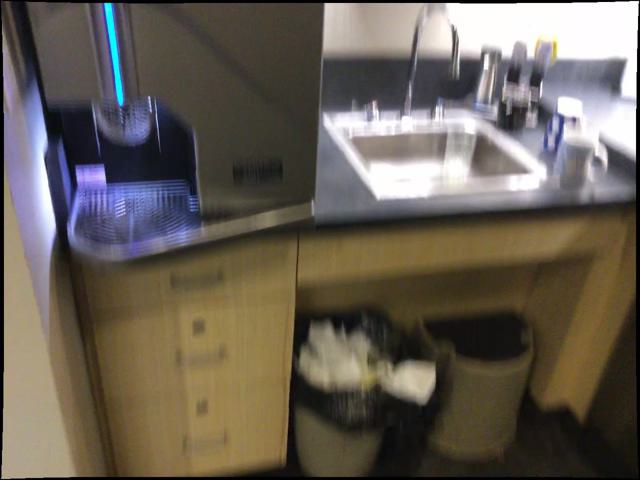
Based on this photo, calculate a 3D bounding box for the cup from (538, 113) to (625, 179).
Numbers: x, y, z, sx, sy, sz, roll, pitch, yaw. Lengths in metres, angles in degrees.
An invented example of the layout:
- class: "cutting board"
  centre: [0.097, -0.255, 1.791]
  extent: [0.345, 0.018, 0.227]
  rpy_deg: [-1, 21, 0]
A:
- class: "cup"
  centre: [0.628, -0.231, 1.400]
  extent: [0.100, 0.100, 0.150]
  rpy_deg: [-7, 34, -17]

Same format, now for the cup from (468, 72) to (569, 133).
- class: "cup"
  centre: [0.569, -0.401, 1.670]
  extent: [0.190, 0.110, 0.180]
  rpy_deg: [-7, 34, -17]

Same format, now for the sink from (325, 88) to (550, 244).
- class: "sink"
  centre: [0.279, -0.231, 1.570]
  extent: [0.379, 0.190, 0.520]
  rpy_deg: [-7, 34, -17]
